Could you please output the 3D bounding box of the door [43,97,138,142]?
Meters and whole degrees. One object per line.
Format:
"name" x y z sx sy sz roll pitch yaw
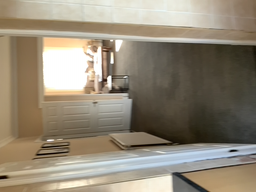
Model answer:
"door" -0.830 0.530 4.930 0.080 2.090 1.030 -124 36 -62

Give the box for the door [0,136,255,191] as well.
"door" 0.080 0.480 1.460 1.130 2.070 0.140 166 103 -74

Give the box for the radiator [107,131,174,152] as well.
"radiator" 0.130 0.700 3.420 1.150 0.730 0.100 172 97 -74
